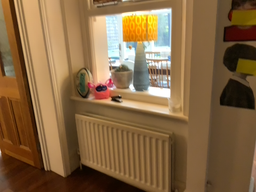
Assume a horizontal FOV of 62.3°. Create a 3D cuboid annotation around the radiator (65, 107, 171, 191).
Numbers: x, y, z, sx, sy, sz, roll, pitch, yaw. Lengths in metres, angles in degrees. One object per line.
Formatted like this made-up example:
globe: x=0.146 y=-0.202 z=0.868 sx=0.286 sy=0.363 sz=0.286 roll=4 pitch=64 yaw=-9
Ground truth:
radiator: x=-0.110 y=0.490 z=1.880 sx=0.930 sy=0.600 sz=0.230 roll=8 pitch=20 yaw=31
